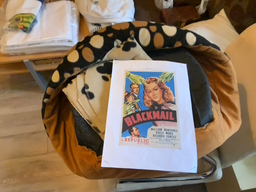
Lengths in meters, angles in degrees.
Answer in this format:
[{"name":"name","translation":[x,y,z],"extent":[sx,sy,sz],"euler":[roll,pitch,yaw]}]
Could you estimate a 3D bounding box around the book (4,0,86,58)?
[{"name":"book","translation":[-0.490,-0.460,1.310],"extent":[0.420,0.120,0.420],"euler":[-7,61,-6]}]
